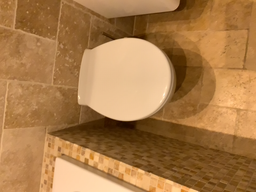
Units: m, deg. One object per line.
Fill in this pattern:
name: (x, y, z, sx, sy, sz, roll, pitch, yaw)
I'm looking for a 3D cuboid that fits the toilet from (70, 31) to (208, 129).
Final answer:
toilet: (0.070, -0.080, 1.150, 0.540, 0.470, 0.370, 8, 92, 35)
